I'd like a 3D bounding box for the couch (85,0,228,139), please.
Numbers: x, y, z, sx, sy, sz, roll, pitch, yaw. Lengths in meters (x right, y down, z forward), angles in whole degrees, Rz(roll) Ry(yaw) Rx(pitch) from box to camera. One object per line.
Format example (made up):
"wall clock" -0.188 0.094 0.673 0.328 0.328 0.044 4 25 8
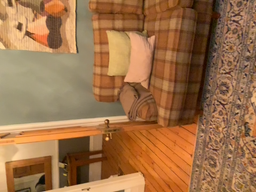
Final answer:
"couch" 0.160 -0.740 1.970 1.060 0.860 1.870 -148 59 -62
